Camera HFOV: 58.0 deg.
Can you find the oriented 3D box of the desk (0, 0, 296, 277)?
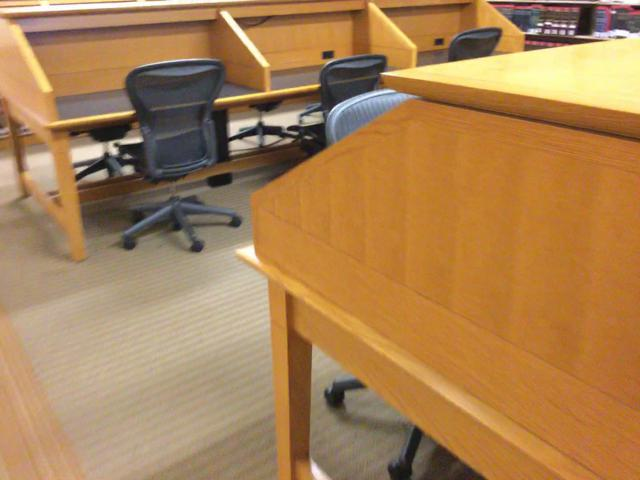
[{"bbox_3d":[-0.950,-0.690,3.270,1.320,1.250,0.850,-17,28,-31],"label":"desk"}]
